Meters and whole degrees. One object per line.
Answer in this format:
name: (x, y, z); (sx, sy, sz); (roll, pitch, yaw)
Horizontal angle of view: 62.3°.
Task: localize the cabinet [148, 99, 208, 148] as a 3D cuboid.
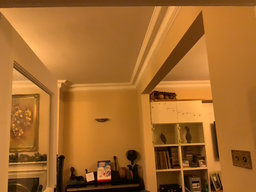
cabinet: (0.950, 0.540, 4.220); (1.010, 0.870, 0.450); (-2, -10, -4)
